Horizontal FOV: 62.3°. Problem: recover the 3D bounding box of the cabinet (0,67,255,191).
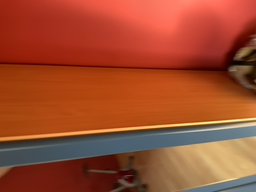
[{"bbox_3d":[-0.160,0.840,1.450,0.660,2.200,1.910,-123,38,-53],"label":"cabinet"}]
